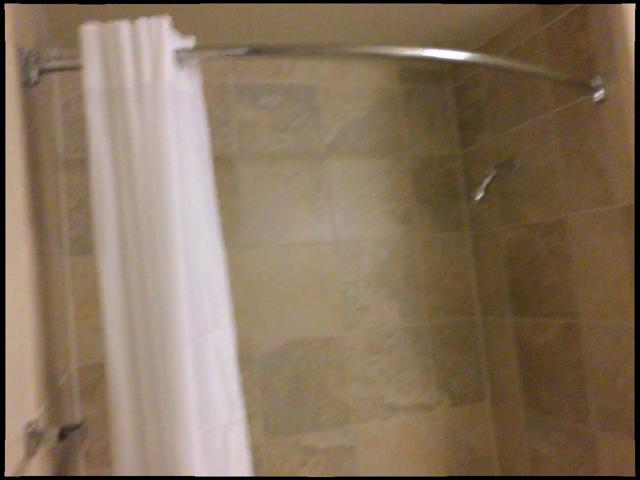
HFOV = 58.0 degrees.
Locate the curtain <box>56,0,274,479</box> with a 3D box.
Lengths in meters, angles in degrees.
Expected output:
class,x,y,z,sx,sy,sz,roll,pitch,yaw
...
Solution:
class,x,y,z,sx,sy,sz,roll,pitch,yaw
curtain,-0.279,0.441,1.160,0.309,1.743,0.280,-5,-2,-20
